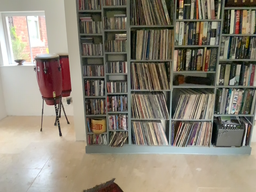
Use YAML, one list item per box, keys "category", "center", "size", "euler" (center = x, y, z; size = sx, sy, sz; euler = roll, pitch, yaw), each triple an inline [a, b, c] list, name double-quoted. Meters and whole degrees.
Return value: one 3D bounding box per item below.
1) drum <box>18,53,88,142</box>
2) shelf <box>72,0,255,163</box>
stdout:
- category: "drum"
  center: [-1.090, -0.040, 3.330]
  size: [0.600, 1.180, 0.900]
  euler: [3, 16, 9]
- category: "shelf"
  center: [0.490, -0.510, 2.420]
  size: [2.090, 2.630, 0.350]
  euler: [0, 16, 2]
